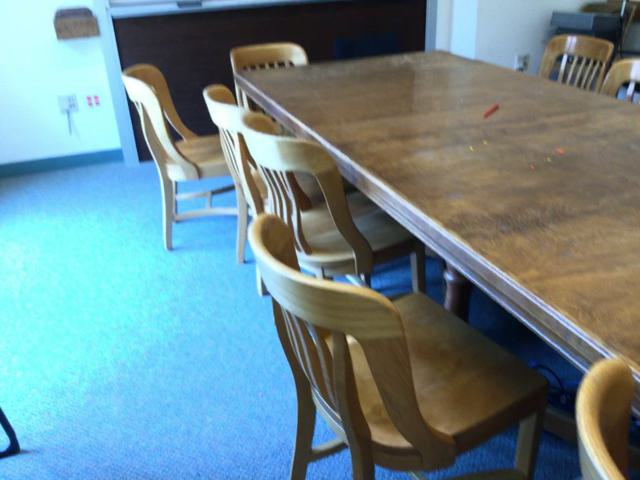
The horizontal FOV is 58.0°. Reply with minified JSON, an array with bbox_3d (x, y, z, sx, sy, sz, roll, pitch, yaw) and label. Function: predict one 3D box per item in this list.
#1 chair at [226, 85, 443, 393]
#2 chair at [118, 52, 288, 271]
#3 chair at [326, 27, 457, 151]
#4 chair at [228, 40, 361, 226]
[{"bbox_3d":[0.050,-0.040,2.060,0.550,0.850,0.570,-12,26,-14],"label":"chair"},{"bbox_3d":[-0.580,-0.420,2.870,0.620,0.860,0.590,-12,26,-14],"label":"chair"},{"bbox_3d":[0.390,-0.880,3.280,0.490,0.530,0.630,-13,26,-15],"label":"chair"},{"bbox_3d":[-0.140,-0.610,3.170,0.500,0.830,0.590,-13,26,-15],"label":"chair"}]
